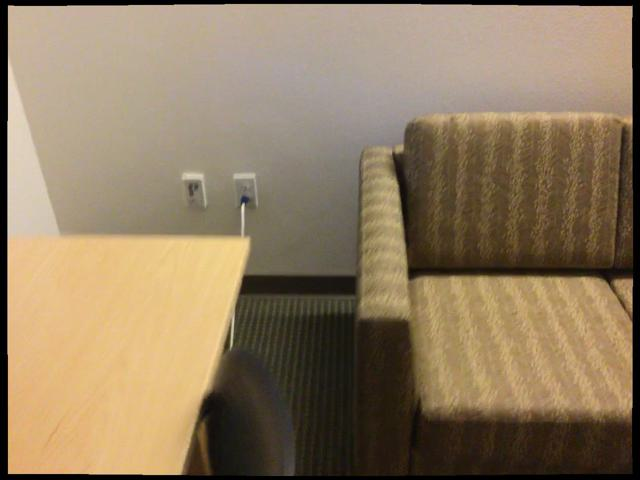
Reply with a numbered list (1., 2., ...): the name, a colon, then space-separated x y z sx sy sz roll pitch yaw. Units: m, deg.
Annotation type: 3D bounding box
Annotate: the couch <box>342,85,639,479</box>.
1. couch: 1.088 0.150 1.530 2.036 0.801 0.961 1 33 3
